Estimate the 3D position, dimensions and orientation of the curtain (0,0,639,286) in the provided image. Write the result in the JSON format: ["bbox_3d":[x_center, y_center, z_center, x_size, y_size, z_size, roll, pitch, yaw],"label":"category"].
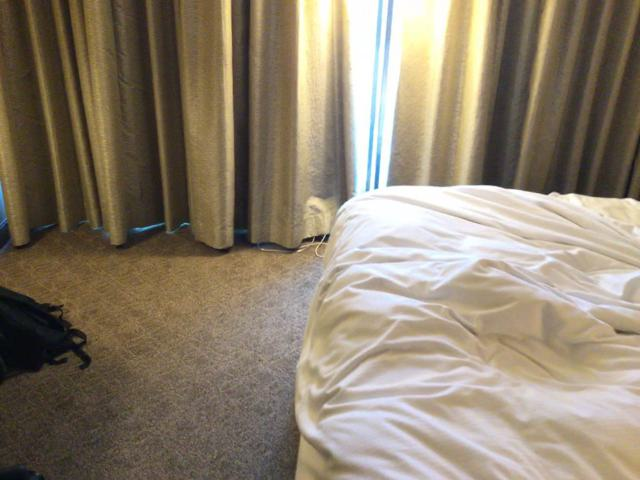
[{"bbox_3d":[0.310,-0.750,2.540,3.530,1.790,0.520,2,26,0],"label":"curtain"}]

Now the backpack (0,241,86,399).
[{"bbox_3d":[-1.110,0.240,2.010,0.280,0.460,0.350,-41,23,-21],"label":"backpack"}]

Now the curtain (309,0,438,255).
[{"bbox_3d":[0.240,-1.030,2.520,0.510,2.350,0.190,2,26,0],"label":"curtain"}]
